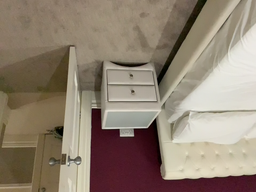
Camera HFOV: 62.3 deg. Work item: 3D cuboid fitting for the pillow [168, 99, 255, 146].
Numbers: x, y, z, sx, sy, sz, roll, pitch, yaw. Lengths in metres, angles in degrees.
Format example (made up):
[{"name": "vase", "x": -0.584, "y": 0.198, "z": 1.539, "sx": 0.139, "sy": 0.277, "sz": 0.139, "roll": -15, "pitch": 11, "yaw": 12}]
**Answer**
[{"name": "pillow", "x": 0.740, "y": 0.240, "z": 1.830, "sx": 0.640, "sy": 0.270, "sz": 0.410, "roll": 1, "pitch": 153, "yaw": -11}]
